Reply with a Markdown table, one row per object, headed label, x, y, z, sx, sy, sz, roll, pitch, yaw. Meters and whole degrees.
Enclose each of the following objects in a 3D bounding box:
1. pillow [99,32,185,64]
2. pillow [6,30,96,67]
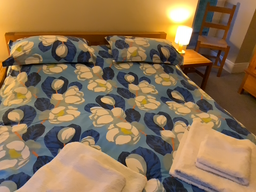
| label | x | y | z | sx | sy | sz | roll | pitch | yaw |
| --- | --- | --- | --- | --- | --- | --- | --- | --- | --- |
| pillow | 0.130 | -0.500 | 2.140 | 0.760 | 0.160 | 0.400 | -6 | 36 | -19 |
| pillow | -0.660 | -0.430 | 1.850 | 0.670 | 0.160 | 0.370 | -8 | 37 | -21 |
